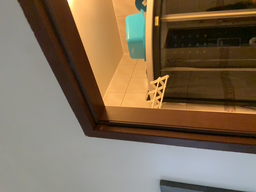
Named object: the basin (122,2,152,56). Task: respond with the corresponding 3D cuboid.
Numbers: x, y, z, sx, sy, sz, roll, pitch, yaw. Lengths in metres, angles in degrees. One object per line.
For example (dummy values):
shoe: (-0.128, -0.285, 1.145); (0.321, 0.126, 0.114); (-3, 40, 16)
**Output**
basin: (0.070, -0.460, 1.510); (0.220, 0.140, 0.310); (8, -95, -73)
